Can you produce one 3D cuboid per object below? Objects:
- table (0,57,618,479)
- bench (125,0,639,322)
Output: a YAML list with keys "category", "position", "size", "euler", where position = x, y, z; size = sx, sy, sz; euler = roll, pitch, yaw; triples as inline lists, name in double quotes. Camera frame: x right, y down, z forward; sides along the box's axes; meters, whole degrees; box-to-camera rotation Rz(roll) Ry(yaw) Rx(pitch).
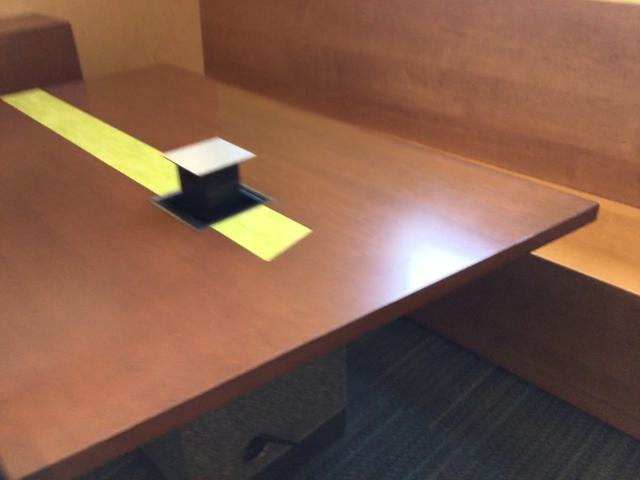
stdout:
- category: "table"
  position: [-0.420, 0.110, 1.570]
  size: [1.800, 0.790, 1.090]
  euler: [25, 38, 39]
- category: "bench"
  position: [0.910, -0.190, 1.230]
  size: [0.520, 0.670, 4.260]
  euler: [-27, 37, -38]
